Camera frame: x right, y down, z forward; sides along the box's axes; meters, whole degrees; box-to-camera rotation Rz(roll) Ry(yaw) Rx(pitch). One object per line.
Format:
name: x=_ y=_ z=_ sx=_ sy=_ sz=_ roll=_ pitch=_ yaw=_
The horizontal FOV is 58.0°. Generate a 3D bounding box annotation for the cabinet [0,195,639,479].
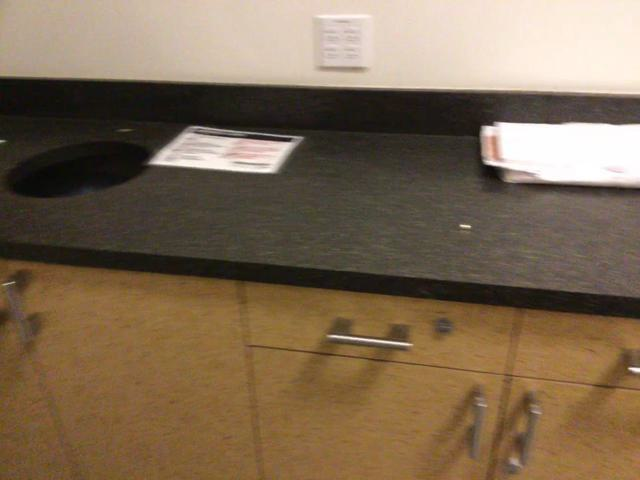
cabinet: x=0.300 y=0.410 z=1.030 sx=2.670 sy=0.850 sz=0.080 roll=6 pitch=29 yaw=10
